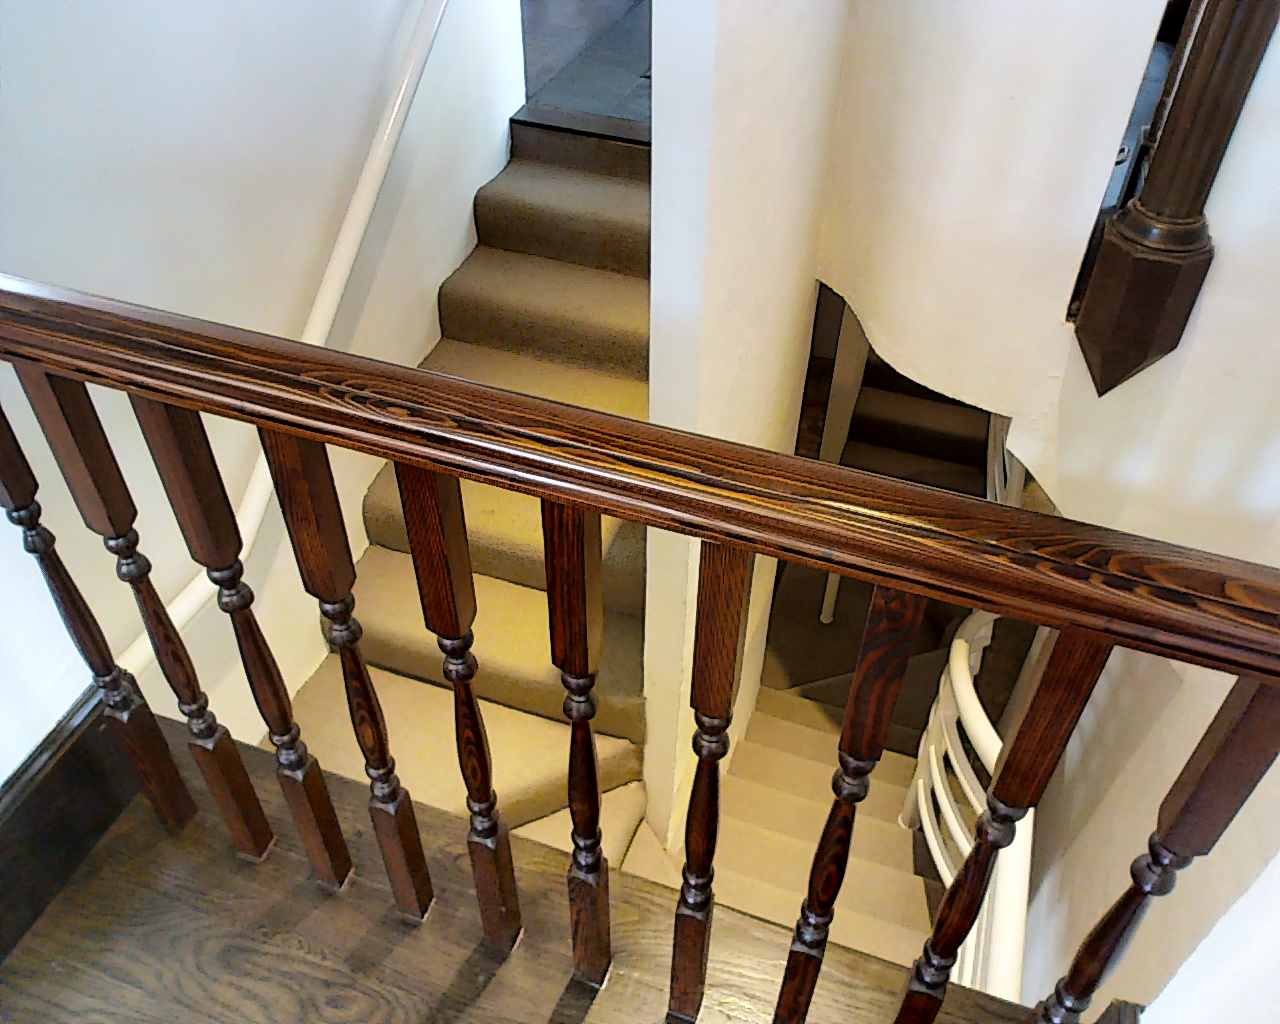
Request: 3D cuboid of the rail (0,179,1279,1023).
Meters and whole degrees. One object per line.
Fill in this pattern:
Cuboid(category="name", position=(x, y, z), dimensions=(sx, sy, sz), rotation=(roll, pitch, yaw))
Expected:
Cuboid(category="rail", position=(-0.110, 0.230, 1.230), dimensions=(1.480, 1.010, 0.150), rotation=(15, 44, 14))
